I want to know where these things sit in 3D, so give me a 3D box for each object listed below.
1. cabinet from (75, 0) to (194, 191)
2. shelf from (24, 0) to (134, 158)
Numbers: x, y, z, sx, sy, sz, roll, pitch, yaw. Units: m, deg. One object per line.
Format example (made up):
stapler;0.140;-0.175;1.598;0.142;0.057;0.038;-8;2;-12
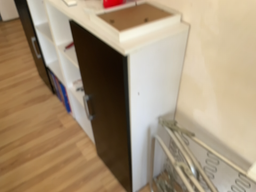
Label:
cabinet;0.020;0.100;1.160;0.300;1.050;0.350;-28;48;-27
shelf;-0.350;-0.220;1.550;0.270;1.030;0.900;-28;48;-27
